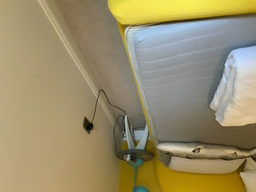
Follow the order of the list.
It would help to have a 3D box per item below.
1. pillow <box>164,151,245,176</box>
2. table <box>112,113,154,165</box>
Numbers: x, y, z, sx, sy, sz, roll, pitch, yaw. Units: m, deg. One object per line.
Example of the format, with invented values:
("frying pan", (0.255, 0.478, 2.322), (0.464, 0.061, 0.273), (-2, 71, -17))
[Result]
("pillow", (0.710, 0.680, 2.090), (0.680, 0.120, 0.450), (-4, 147, 10))
("table", (0.080, 0.520, 2.510), (0.410, 0.480, 0.400), (-4, 147, 10))
